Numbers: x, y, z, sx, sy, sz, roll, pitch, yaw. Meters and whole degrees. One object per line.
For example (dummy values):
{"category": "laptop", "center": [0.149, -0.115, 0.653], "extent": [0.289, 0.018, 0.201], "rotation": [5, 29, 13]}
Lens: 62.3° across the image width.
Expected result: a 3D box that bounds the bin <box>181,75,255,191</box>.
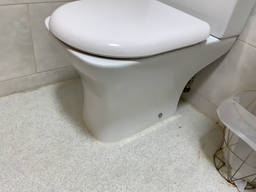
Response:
{"category": "bin", "center": [0.410, 0.150, 0.700], "extent": [0.270, 0.280, 0.280], "rotation": [-21, 48, -34]}
